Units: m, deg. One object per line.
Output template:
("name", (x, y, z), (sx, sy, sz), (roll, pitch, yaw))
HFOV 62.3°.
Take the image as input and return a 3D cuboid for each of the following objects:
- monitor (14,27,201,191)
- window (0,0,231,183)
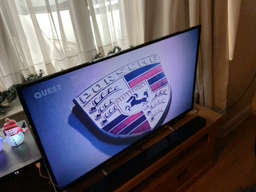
("monitor", (0.040, 0.040, 1.200), (1.080, 0.620, 0.050), (-26, 35, -30))
("window", (-0.390, -0.550, 1.070), (2.140, 1.420, 0.690), (-24, 34, -28))
